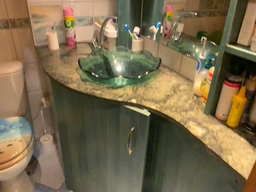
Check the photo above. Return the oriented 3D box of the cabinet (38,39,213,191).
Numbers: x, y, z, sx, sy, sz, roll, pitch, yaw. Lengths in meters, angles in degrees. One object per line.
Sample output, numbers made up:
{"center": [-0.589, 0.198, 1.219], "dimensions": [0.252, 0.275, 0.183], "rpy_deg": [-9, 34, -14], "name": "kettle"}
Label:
{"center": [-0.160, 0.200, 1.440], "dimensions": [0.590, 0.850, 1.110], "rpy_deg": [-12, 33, -24], "name": "cabinet"}
